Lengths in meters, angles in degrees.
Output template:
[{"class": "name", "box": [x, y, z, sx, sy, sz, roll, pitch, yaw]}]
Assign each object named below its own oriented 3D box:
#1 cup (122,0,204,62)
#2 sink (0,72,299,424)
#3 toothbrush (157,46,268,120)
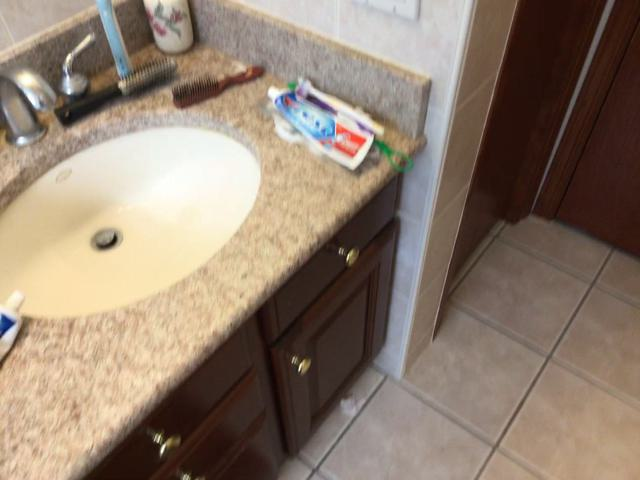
[{"class": "cup", "box": [-0.280, -0.400, 1.030, 0.100, 0.110, 0.080, 30, 56, 25]}, {"class": "sink", "box": [-0.300, -0.020, 0.880, 0.330, 0.190, 0.430, 30, 56, 25]}, {"class": "toothbrush", "box": [-0.180, -0.270, 0.980, 0.100, 0.020, 0.160, 30, 56, 25]}]
